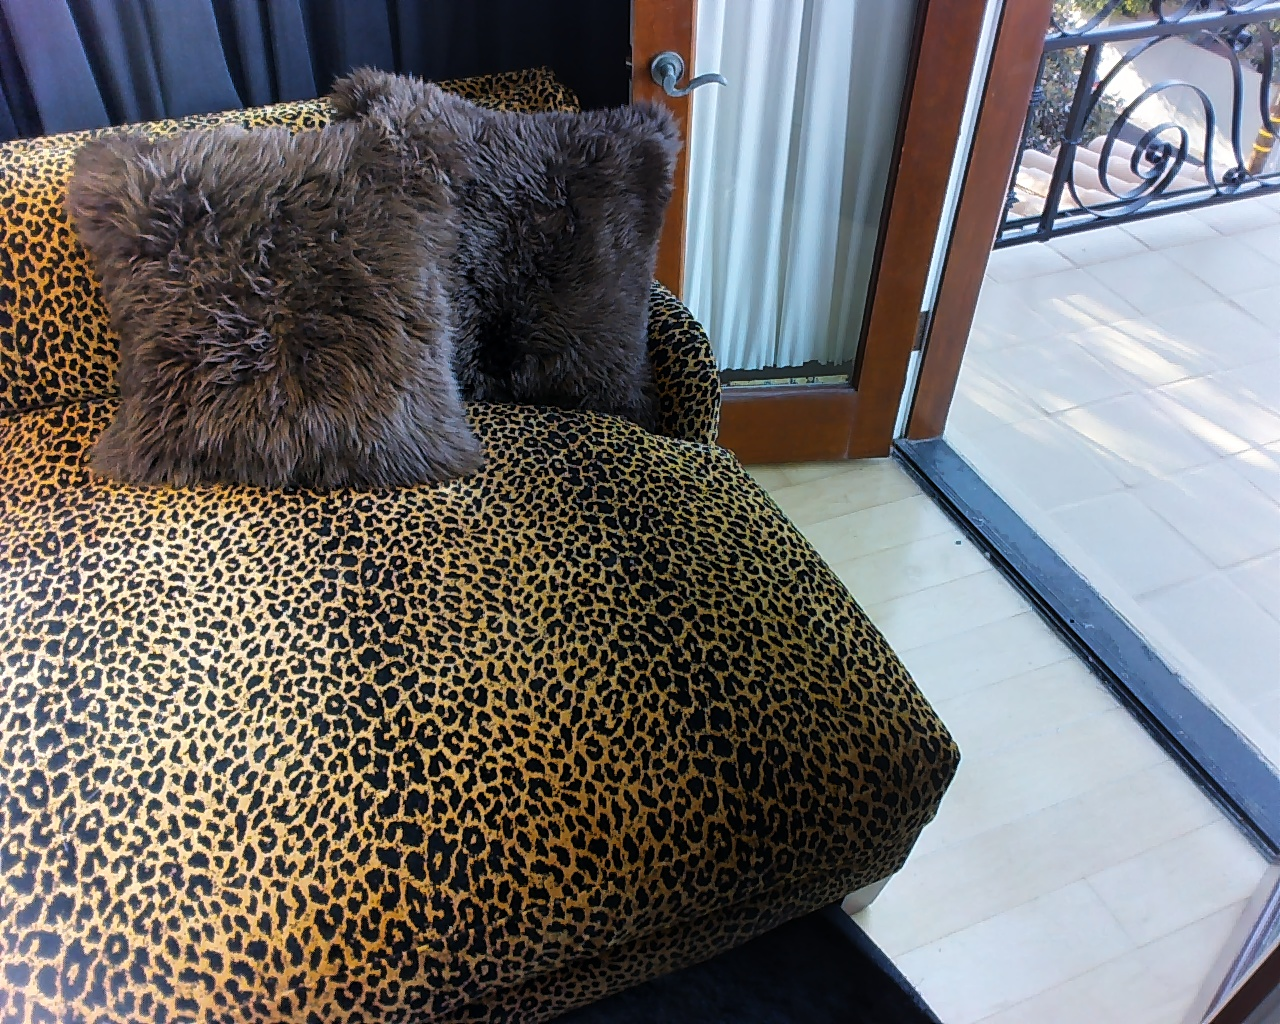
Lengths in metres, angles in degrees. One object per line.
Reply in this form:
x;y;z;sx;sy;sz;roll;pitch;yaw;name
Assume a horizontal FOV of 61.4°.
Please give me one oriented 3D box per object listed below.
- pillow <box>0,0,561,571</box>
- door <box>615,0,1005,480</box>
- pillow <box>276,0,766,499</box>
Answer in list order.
-0.540;-0.320;1.600;0.630;0.560;0.240;31;22;-21;pillow
0.290;-0.880;1.840;0.650;2.060;0.090;-2;42;-3;door
-0.220;-0.420;1.800;0.550;0.620;0.300;19;33;-26;pillow
